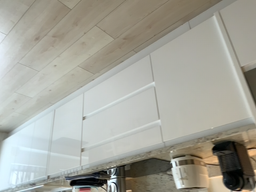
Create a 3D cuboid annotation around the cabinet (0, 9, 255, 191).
[{"bbox_3d":[-0.590,0.480,2.310,3.210,0.910,0.590,-25,145,34],"label":"cabinet"}]
